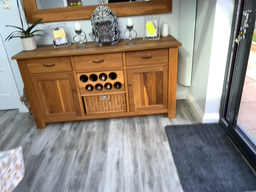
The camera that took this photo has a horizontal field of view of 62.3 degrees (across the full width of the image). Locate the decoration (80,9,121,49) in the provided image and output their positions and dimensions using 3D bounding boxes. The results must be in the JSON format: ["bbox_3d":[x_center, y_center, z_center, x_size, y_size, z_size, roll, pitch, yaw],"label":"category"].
[{"bbox_3d":[-0.280,-0.730,2.290,0.360,0.360,0.270,-2,26,3],"label":"decoration"}]

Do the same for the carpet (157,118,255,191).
[{"bbox_3d":[0.640,0.500,1.970,0.560,0.030,0.970,-5,26,-3],"label":"carpet"}]
